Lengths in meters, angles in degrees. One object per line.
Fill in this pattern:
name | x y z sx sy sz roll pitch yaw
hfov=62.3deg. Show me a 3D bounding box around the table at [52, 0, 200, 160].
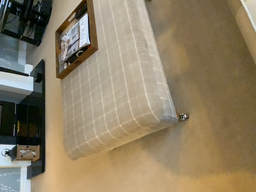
table | -0.130 -0.240 1.430 0.790 0.380 1.140 -30 59 36
